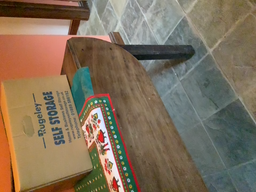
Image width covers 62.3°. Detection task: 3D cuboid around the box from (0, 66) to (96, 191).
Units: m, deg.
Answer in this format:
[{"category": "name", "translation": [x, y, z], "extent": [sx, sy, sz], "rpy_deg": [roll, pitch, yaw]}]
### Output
[{"category": "box", "translation": [-0.420, 0.220, 1.010], "extent": [0.550, 0.270, 0.460], "rpy_deg": [-53, 53, 50]}]
